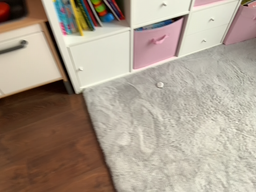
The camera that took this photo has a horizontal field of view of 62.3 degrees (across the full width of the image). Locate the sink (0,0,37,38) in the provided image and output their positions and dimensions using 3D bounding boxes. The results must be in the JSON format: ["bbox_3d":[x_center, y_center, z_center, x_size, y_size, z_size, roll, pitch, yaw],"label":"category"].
[{"bbox_3d":[-0.570,-0.380,0.970,0.240,0.080,0.230,-19,58,-12],"label":"sink"}]

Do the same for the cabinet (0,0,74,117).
[{"bbox_3d":[-0.740,-0.200,1.130,0.710,0.540,0.370,-19,58,-12],"label":"cabinet"}]
